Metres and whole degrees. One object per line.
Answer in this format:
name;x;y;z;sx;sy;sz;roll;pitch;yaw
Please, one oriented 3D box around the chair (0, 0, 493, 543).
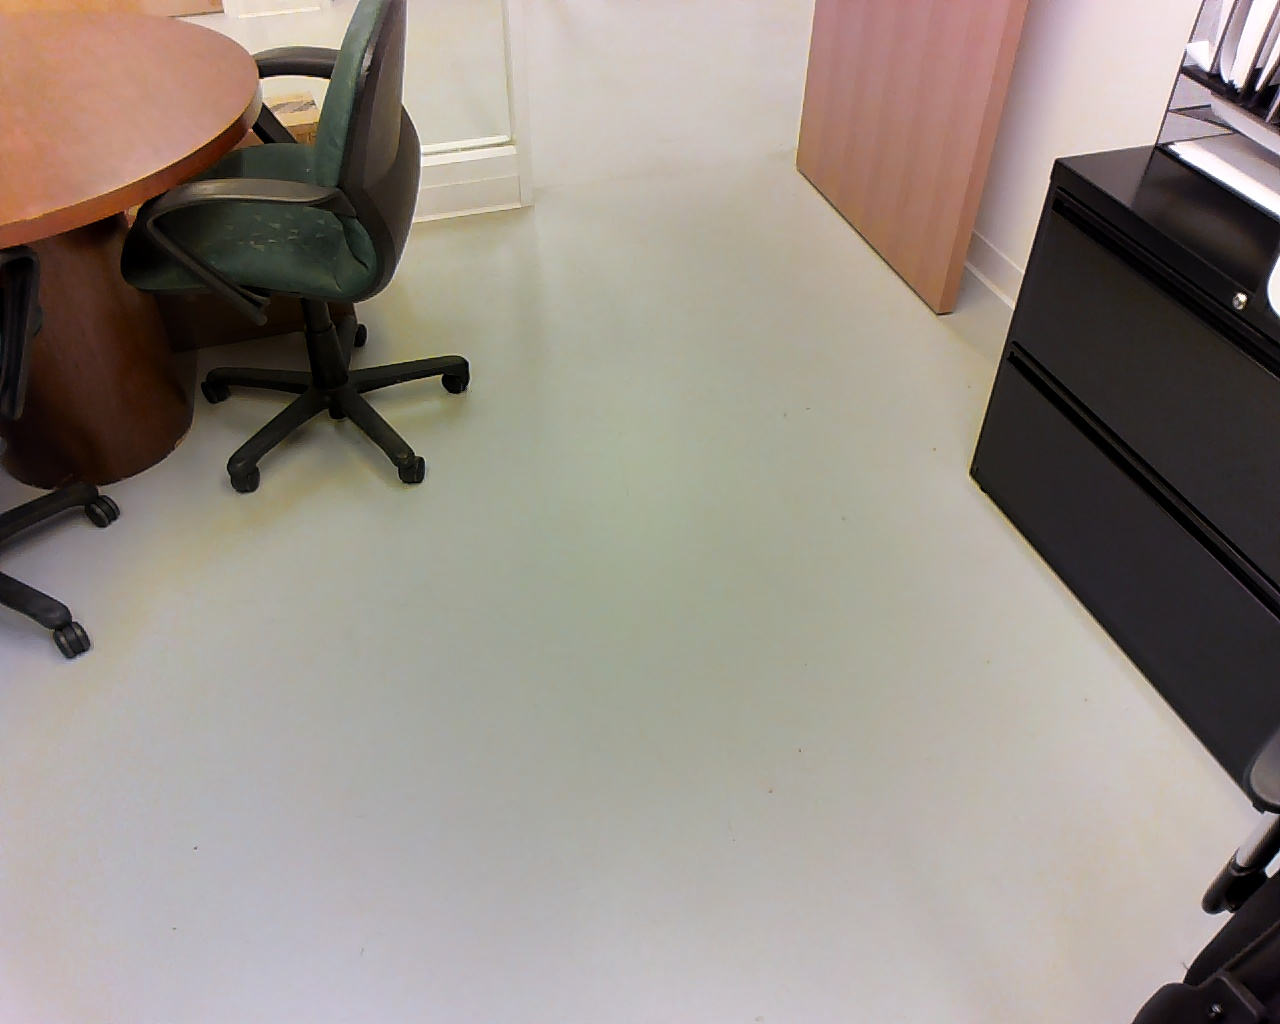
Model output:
chair;-0.760;-0.570;2.110;0.820;0.980;0.760;-2;42;-3
